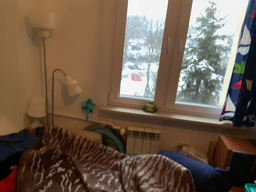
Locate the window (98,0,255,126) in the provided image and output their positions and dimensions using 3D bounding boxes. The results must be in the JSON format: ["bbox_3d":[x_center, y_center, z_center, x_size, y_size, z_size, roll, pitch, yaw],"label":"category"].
[{"bbox_3d":[0.420,-0.550,1.900,1.280,1.570,0.140,7,18,1],"label":"window"}]
